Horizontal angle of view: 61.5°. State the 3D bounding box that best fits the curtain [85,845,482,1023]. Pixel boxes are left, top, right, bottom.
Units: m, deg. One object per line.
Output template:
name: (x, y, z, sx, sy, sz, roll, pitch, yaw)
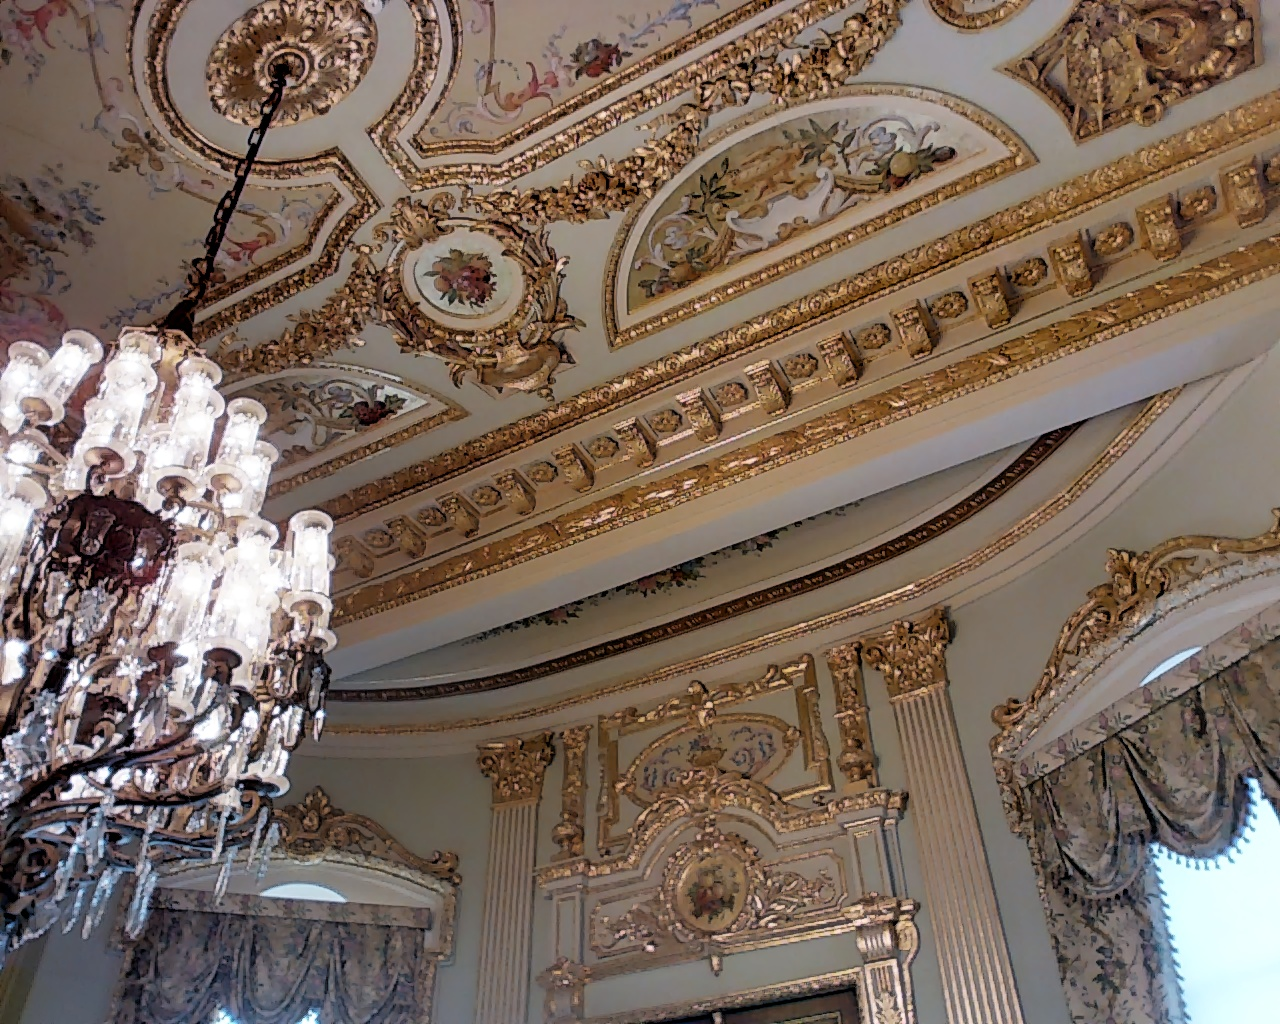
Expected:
curtain: (-2.078, 3.923, 5.370, 2.098, 4.522, 0.200, 5, -41, -5)
